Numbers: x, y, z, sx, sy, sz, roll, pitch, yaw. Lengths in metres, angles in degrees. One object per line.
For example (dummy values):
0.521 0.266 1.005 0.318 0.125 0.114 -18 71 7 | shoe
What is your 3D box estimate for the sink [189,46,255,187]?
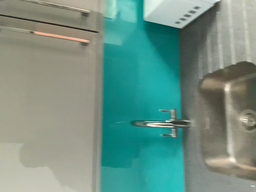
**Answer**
0.540 0.100 0.950 0.450 0.270 0.510 156 116 -67 | sink
